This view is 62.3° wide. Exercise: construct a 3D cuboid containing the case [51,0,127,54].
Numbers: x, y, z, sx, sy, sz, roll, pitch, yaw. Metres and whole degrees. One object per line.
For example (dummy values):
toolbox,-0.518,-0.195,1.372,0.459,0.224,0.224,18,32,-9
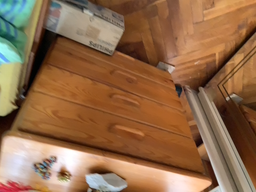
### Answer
case,-0.160,-0.320,0.900,0.270,0.150,0.140,17,129,-18
